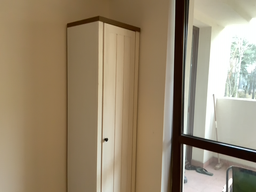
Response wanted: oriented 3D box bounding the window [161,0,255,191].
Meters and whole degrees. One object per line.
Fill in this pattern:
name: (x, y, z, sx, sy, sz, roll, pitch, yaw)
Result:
window: (0.970, 0.230, 1.550, 1.480, 2.360, 0.180, 7, 8, 39)
